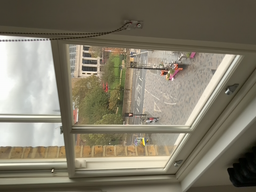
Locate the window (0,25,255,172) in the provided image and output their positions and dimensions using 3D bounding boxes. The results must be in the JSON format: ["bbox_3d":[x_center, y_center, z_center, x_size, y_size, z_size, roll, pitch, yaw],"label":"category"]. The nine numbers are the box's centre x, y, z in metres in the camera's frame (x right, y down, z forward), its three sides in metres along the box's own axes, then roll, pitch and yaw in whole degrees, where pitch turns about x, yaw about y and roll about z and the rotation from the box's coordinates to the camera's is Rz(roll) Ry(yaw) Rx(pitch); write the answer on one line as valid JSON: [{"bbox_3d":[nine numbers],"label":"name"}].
[{"bbox_3d":[-0.260,0.140,1.070,1.030,1.350,0.050,103,165,-47],"label":"window"}]
